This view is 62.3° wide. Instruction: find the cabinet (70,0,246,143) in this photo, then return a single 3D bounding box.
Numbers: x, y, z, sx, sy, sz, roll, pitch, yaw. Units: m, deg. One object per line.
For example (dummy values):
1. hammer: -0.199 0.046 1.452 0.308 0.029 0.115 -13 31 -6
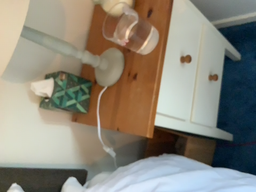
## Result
1. cabinet: 0.180 -0.070 0.910 0.370 0.660 0.420 3 79 46
